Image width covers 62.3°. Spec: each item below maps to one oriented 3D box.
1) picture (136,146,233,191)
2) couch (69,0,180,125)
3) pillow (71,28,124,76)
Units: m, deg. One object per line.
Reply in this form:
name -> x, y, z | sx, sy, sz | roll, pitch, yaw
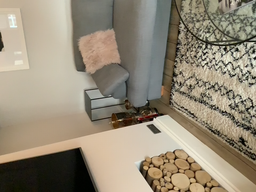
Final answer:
picture -> 0.420, 0.650, 1.640 | 0.610, 0.490, 0.060 | -137, 43, -54
couch -> -0.120, -1.060, 2.300 | 1.120, 0.820, 2.360 | -138, 44, -55
pillow -> -0.360, -0.540, 2.560 | 0.220, 0.440, 0.450 | -33, 85, 44
